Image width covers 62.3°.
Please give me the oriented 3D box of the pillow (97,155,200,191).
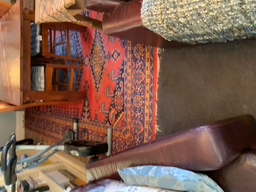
[{"bbox_3d":[0.130,0.420,1.030,0.430,0.400,0.140,11,-100,-69],"label":"pillow"}]
